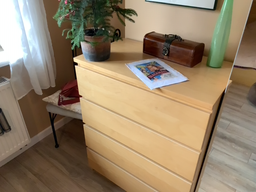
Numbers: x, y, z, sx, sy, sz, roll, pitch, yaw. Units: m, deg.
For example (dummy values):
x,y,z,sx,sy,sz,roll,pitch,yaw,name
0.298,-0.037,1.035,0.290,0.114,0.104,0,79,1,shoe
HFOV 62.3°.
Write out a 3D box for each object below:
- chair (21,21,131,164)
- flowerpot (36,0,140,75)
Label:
x,y,z,sx,sy,sz,roll,pitch,yaw,name
-0.360,-0.060,1.890,0.530,0.980,0.680,14,35,19,chair
-0.180,-0.440,1.040,0.300,0.500,0.400,25,40,32,flowerpot
